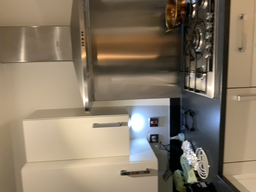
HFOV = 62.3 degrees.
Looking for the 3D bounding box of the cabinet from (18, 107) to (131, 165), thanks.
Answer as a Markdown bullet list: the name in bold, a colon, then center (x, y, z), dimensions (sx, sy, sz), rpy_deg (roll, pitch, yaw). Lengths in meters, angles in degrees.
- **cabinet**: center (-0.370, 0.280, 1.630), dimensions (0.370, 0.740, 0.290), rpy_deg (-125, 33, -79)
